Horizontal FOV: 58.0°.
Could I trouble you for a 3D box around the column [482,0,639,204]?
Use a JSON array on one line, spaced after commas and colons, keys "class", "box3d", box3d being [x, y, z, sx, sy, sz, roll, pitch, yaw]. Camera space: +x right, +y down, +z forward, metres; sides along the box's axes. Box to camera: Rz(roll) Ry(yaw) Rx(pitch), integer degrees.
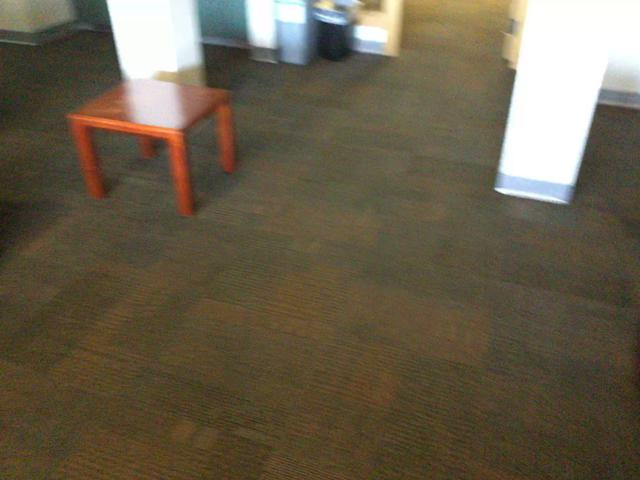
[{"class": "column", "box3d": [0.940, -0.840, 2.230, 0.470, 1.450, 0.180, 7, 34, 17]}]
